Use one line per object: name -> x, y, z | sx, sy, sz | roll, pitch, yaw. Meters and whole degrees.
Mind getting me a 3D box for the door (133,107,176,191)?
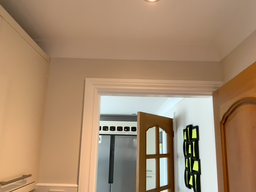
door -> 0.320, 1.200, 2.320 | 0.100, 2.070, 0.780 | -7, -15, 36
